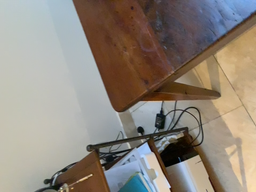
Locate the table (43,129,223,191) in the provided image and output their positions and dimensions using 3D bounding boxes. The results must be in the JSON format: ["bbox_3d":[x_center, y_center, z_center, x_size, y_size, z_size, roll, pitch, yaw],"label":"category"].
[{"bbox_3d":[0.090,0.550,1.010,0.440,0.710,0.580,-37,65,37],"label":"table"}]
